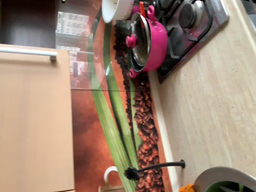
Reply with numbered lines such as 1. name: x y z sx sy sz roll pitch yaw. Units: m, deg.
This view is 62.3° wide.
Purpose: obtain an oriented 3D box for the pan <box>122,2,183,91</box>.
1. pan: 0.100 -0.230 1.070 0.310 0.130 0.300 128 138 -57

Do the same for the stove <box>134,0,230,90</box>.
1. stove: 0.190 -0.420 1.050 0.550 0.030 0.600 131 135 -58
